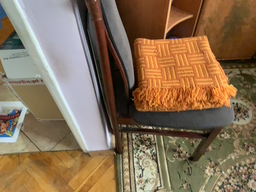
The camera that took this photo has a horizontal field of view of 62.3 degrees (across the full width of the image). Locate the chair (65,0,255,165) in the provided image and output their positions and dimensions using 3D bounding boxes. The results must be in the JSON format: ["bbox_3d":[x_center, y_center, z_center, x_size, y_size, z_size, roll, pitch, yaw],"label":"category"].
[{"bbox_3d":[0.170,-0.100,0.910,0.570,1.020,0.470,-2,56,-1],"label":"chair"}]
